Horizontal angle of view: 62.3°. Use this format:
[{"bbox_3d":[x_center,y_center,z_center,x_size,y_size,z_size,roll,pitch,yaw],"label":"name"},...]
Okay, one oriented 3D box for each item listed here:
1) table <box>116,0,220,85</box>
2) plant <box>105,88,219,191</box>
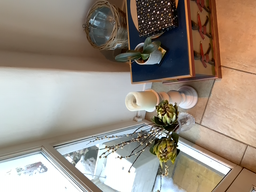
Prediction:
[{"bbox_3d":[0.230,-0.560,1.290,0.420,0.430,0.940,-6,89,39],"label":"table"},{"bbox_3d":[0.220,0.190,1.250,0.350,0.560,0.390,21,106,36],"label":"plant"}]
